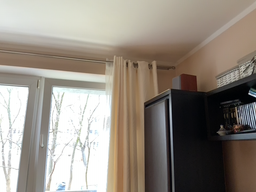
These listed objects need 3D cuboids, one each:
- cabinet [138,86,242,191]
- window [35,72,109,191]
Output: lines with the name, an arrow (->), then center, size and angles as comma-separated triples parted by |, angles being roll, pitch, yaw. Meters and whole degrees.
cabinet -> 0.460, 0.980, 1.740 | 0.560, 1.970, 0.700 | 4, -14, -15
window -> -0.570, 0.560, 2.260 | 0.660, 1.580, 0.240 | 4, -14, -13
